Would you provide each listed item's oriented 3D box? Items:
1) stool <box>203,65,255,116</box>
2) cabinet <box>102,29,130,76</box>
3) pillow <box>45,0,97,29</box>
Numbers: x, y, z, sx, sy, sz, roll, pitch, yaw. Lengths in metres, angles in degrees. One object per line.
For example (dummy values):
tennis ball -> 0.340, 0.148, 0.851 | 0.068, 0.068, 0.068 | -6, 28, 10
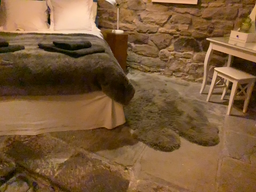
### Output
stool -> 1.210, -0.080, 2.550 | 0.310, 0.450, 0.400 | -10, 28, -27
cabinet -> -0.210, -0.700, 3.380 | 0.380, 0.660, 0.390 | -2, 26, -13
pillow -> -0.830, -1.260, 3.140 | 0.680, 0.430, 0.510 | -3, 26, -13
